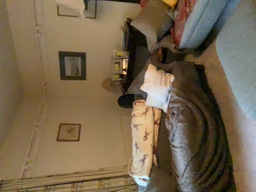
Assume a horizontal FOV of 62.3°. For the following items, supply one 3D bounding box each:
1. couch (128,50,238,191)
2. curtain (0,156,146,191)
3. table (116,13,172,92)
[{"bbox_3d":[0.510,0.560,2.530,1.090,0.720,1.830,117,152,-67],"label":"couch"},{"bbox_3d":[-0.720,1.060,2.810,0.410,1.860,0.190,-105,19,-54],"label":"curtain"},{"bbox_3d":[0.230,-0.770,3.990,0.550,0.760,1.310,-103,18,-51],"label":"table"}]
